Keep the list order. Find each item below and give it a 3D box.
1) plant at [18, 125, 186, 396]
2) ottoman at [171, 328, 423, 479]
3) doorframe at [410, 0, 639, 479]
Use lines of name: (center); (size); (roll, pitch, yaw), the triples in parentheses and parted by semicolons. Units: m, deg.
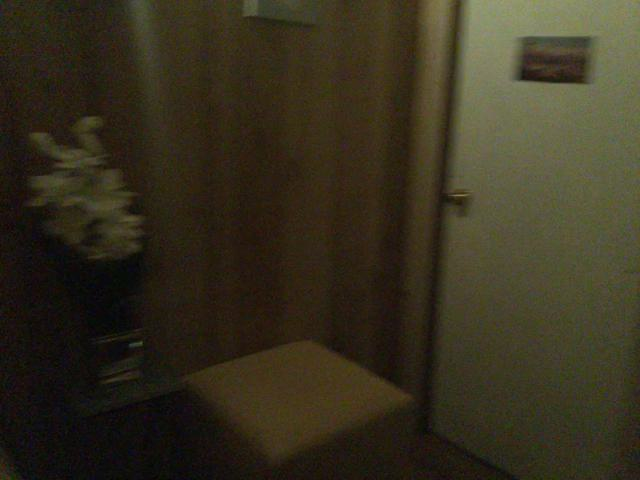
plant: (-0.530, 0.030, 1.440); (0.290, 0.610, 0.180); (-11, 15, -39)
ottoman: (-0.070, 0.680, 1.780); (0.530, 0.580, 0.540); (-11, 15, -39)
doorframe: (0.690, -0.120, 1.860); (0.130, 2.090, 0.920); (-11, 15, -39)
